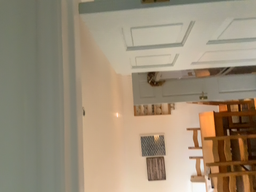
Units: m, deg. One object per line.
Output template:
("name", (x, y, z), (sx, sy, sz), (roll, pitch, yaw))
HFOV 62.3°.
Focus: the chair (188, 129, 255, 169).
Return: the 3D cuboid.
("chair", (1.590, 0.850, 3.480), (0.520, 1.040, 0.500), (32, -125, -86))
